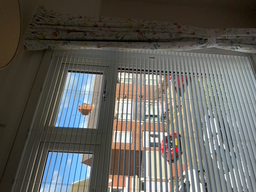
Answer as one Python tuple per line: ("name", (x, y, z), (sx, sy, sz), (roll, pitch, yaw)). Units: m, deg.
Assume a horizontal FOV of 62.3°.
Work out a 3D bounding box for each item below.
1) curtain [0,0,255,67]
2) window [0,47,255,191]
("curtain", (0.360, -0.460, 1.630), (0.180, 2.520, 0.360), (97, 176, -54))
("window", (0.150, 0.270, 1.460), (0.210, 1.770, 1.370), (97, 176, -54))
